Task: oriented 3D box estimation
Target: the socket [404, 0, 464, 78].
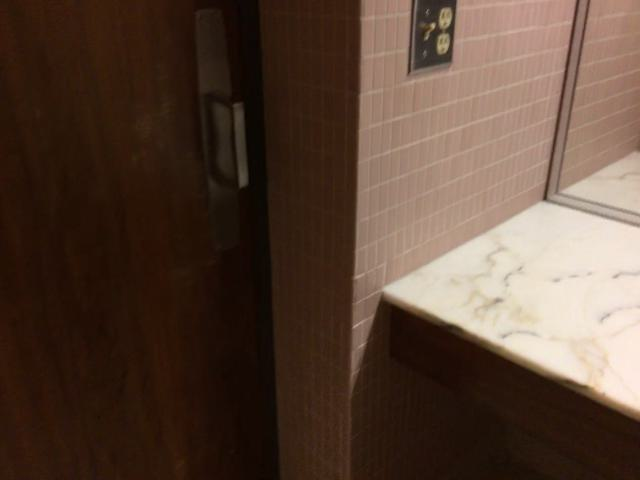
[{"bbox_3d":[0.180,-0.320,0.910,0.120,0.110,0.020,-23,33,-39],"label":"socket"}]
